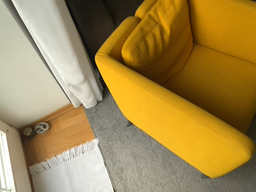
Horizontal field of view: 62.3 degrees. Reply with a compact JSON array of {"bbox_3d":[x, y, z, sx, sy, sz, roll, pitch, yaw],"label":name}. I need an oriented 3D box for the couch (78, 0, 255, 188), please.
[{"bbox_3d":[0.350,-0.090,1.240,0.770,0.750,0.780,32,68,19],"label":"couch"}]
